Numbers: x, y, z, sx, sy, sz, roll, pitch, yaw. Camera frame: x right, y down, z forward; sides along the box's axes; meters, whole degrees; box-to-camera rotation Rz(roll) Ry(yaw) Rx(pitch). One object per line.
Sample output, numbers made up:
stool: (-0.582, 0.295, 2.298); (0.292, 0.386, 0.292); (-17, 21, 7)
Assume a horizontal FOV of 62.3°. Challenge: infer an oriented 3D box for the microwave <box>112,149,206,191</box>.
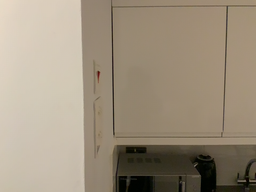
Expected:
microwave: (0.170, 0.530, 1.350); (0.510, 0.260, 0.370); (0, 5, 1)
